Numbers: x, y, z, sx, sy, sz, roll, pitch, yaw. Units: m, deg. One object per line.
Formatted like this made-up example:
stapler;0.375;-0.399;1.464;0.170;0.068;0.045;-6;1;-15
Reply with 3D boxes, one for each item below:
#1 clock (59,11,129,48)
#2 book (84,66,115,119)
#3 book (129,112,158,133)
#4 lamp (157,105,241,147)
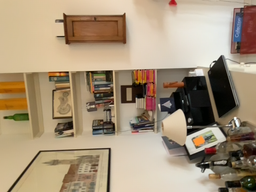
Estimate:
clock;-0.290;-0.590;1.900;0.140;0.590;0.300;-113;21;-77
book;-0.290;-0.040;2.220;0.160;0.290;0.520;-109;18;-75
book;0.160;0.280;2.280;0.180;0.290;0.180;-124;33;-82
lamp;0.470;0.200;1.460;0.200;0.500;0.210;-112;21;-77
